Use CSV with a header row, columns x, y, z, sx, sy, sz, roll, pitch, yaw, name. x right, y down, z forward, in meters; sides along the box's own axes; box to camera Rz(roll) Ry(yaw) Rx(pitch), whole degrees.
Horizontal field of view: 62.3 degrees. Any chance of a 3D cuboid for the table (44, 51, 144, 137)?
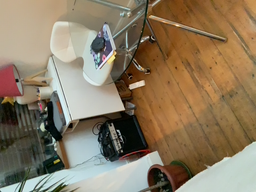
x,y,z,sx,sy,sz,roll,pitch,yaw,name
-0.380,-0.060,2.290,0.400,0.790,0.730,-49,58,48,table
